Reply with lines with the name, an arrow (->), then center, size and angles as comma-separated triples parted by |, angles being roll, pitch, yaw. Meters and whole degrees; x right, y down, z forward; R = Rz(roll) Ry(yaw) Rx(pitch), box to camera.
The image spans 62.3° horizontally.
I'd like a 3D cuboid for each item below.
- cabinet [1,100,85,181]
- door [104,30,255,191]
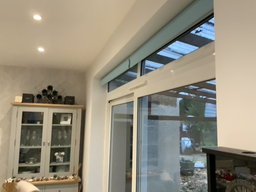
cabinet -> -1.230, 0.630, 3.200 | 1.040, 1.070, 0.420 | 3, -7, -19
door -> 0.080, 0.890, 1.780 | 0.090, 2.070, 2.260 | 3, -7, -18
